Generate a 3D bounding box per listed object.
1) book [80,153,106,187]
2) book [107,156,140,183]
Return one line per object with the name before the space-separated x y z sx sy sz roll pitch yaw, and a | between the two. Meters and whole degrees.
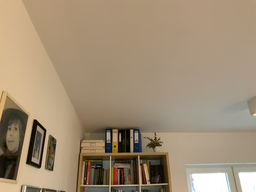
book | -0.410 0.910 2.580 0.290 0.350 0.320 0 -25 -5
book | -0.060 0.910 2.610 0.370 0.290 0.290 0 -25 -2
